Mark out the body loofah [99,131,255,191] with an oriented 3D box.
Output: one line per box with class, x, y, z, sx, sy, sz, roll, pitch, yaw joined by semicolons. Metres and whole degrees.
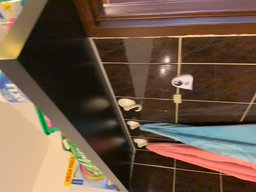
body loofah;0.460;0.370;1.050;0.250;1.160;0.200;73;-156;-55
